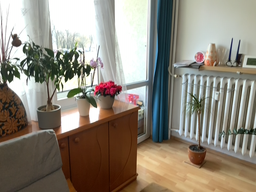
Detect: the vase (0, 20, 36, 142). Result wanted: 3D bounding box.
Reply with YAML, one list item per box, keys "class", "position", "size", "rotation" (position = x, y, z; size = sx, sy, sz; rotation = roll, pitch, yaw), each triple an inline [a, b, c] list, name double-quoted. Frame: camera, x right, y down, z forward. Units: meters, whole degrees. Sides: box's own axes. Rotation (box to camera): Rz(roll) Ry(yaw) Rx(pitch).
- class: "vase"
  position: [-0.830, -0.100, 1.440]
  size: [0.270, 0.780, 0.140]
  rotation: [-13, 21, -41]

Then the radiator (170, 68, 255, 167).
- class: "radiator"
  position: [1.090, 0.220, 2.760]
  size: [0.990, 1.040, 0.280]
  rotation: [13, 20, 37]

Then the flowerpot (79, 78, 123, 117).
- class: "flowerpot"
  position: [-0.260, 0.000, 2.070]
  size: [0.260, 0.280, 0.330]
  rotation: [15, 21, 41]
